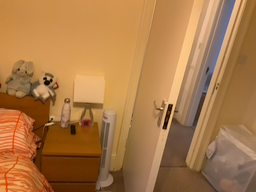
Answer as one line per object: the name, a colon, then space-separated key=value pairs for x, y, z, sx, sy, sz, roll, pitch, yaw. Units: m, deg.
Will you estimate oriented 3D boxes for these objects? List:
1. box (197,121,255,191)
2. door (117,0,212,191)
box: x=1.060 y=0.670 z=2.100 sx=0.330 sy=0.640 sz=0.550 roll=5 pitch=20 yaw=-17
door: x=0.170 y=0.020 z=1.530 sx=0.080 sy=2.060 sz=0.780 roll=7 pitch=19 yaw=-12
